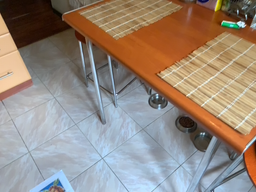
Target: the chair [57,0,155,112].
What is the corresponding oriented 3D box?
[{"bbox_3d":[-0.130,-0.380,1.530,0.470,0.840,0.380,-30,53,-24],"label":"chair"}]
